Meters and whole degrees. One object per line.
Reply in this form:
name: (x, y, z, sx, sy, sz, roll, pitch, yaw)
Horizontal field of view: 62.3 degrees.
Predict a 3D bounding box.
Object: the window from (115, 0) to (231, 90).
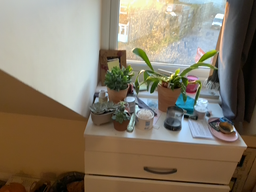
window: (0.270, -0.610, 1.200, 0.620, 1.190, 0.080, 5, 28, 0)
